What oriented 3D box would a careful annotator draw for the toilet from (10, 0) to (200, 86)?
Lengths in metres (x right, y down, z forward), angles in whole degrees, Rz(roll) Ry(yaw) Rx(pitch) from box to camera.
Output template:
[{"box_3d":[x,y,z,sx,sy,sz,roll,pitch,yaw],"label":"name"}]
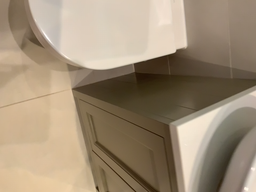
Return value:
[{"box_3d":[-0.110,-0.310,0.810,0.540,0.460,0.380,-17,106,-27],"label":"toilet"}]
